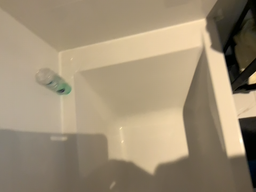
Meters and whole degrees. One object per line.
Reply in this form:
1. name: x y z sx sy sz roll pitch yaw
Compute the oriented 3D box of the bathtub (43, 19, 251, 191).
1. bathtub: 0.100 0.470 1.050 0.780 0.570 1.390 -8 77 11
